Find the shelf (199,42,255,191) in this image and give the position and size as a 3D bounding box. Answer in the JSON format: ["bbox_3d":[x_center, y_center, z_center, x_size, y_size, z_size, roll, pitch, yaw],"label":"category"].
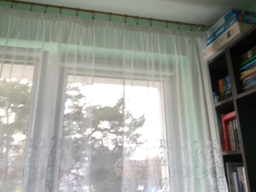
[{"bbox_3d":[0.690,0.320,1.260,0.270,1.240,0.310,3,-18,-12],"label":"shelf"}]
